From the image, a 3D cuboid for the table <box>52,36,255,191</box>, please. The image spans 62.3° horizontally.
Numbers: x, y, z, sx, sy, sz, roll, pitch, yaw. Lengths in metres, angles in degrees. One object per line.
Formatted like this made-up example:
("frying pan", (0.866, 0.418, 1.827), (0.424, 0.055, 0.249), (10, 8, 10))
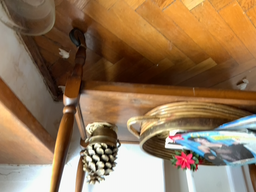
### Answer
("table", (0.160, 0.180, 0.650), (0.630, 0.600, 0.350), (3, 147, -2))
